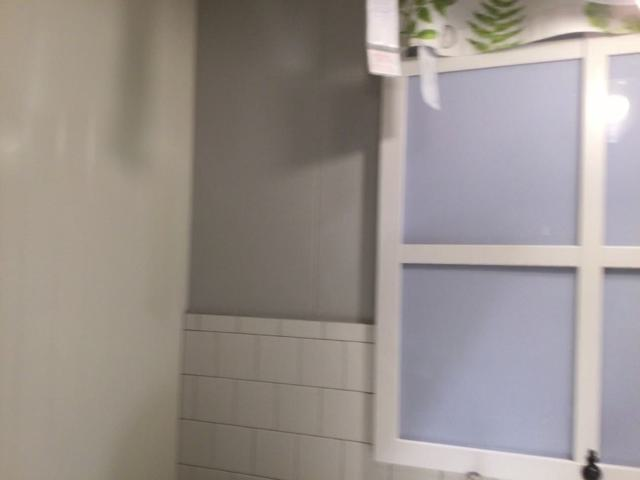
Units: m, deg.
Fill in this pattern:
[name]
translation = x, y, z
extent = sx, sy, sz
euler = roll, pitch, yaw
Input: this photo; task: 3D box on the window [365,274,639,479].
[window]
translation = 0.510, 0.290, 1.080
extent = 0.860, 0.430, 0.060
euler = 0, -1, 19
